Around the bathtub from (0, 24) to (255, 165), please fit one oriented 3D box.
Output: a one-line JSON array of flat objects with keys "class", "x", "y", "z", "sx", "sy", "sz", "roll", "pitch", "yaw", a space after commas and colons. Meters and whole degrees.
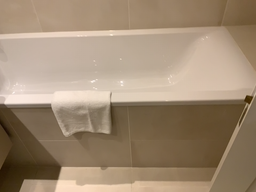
[{"class": "bathtub", "x": -0.040, "y": -0.020, "z": 1.400, "sx": 1.940, "sy": 0.600, "sz": 0.690, "roll": 0, "pitch": 43, "yaw": 3}]
